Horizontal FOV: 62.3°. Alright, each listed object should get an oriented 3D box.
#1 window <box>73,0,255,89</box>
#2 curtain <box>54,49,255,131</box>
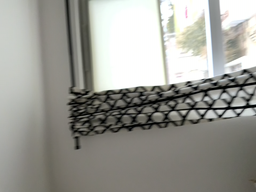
[{"bbox_3d":[0.670,-0.570,1.760,0.160,2.220,0.840,17,-111,-84],"label":"window"},{"bbox_3d":[0.640,-0.060,1.550,0.260,2.330,0.450,30,-125,-83],"label":"curtain"}]
